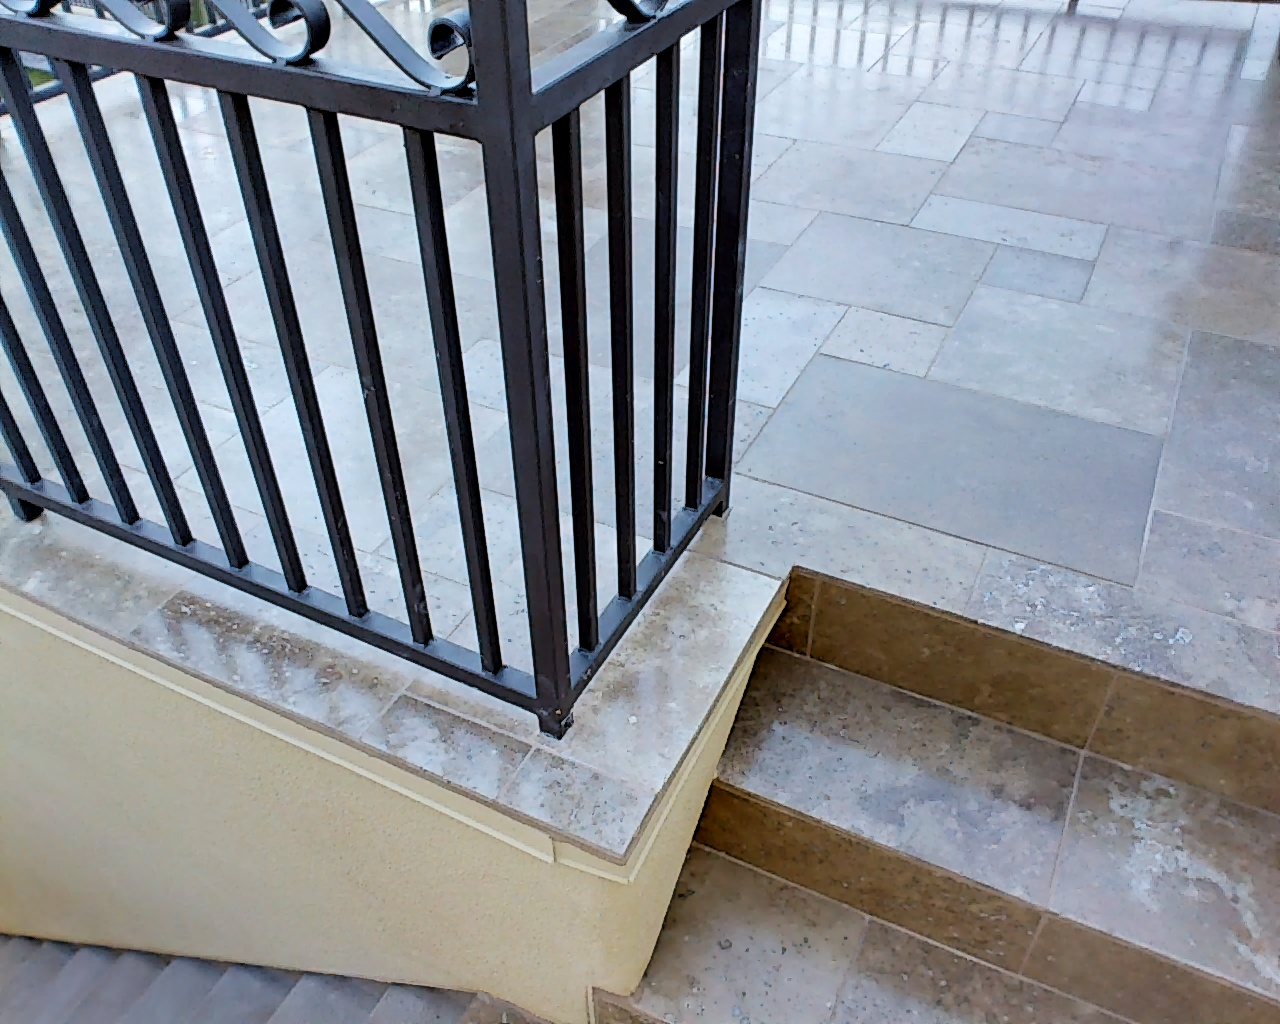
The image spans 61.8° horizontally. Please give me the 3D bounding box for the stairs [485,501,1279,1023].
[{"bbox_3d":[0.410,0.540,1.410,0.960,0.620,0.630,18,45,21],"label":"stairs"}]
